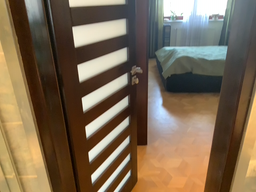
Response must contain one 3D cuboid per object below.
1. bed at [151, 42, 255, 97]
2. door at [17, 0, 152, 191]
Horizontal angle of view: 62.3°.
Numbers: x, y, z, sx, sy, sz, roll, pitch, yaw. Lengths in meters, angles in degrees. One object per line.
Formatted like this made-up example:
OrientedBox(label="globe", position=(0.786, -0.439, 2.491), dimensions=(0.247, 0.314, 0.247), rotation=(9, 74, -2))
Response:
OrientedBox(label="bed", position=(1.620, -0.620, 4.240), dimensions=(2.240, 0.570, 1.740), rotation=(1, 25, 4))
OrientedBox(label="door", position=(-0.100, 0.020, 1.240), dimensions=(0.120, 1.970, 0.850), rotation=(12, 28, 27))
